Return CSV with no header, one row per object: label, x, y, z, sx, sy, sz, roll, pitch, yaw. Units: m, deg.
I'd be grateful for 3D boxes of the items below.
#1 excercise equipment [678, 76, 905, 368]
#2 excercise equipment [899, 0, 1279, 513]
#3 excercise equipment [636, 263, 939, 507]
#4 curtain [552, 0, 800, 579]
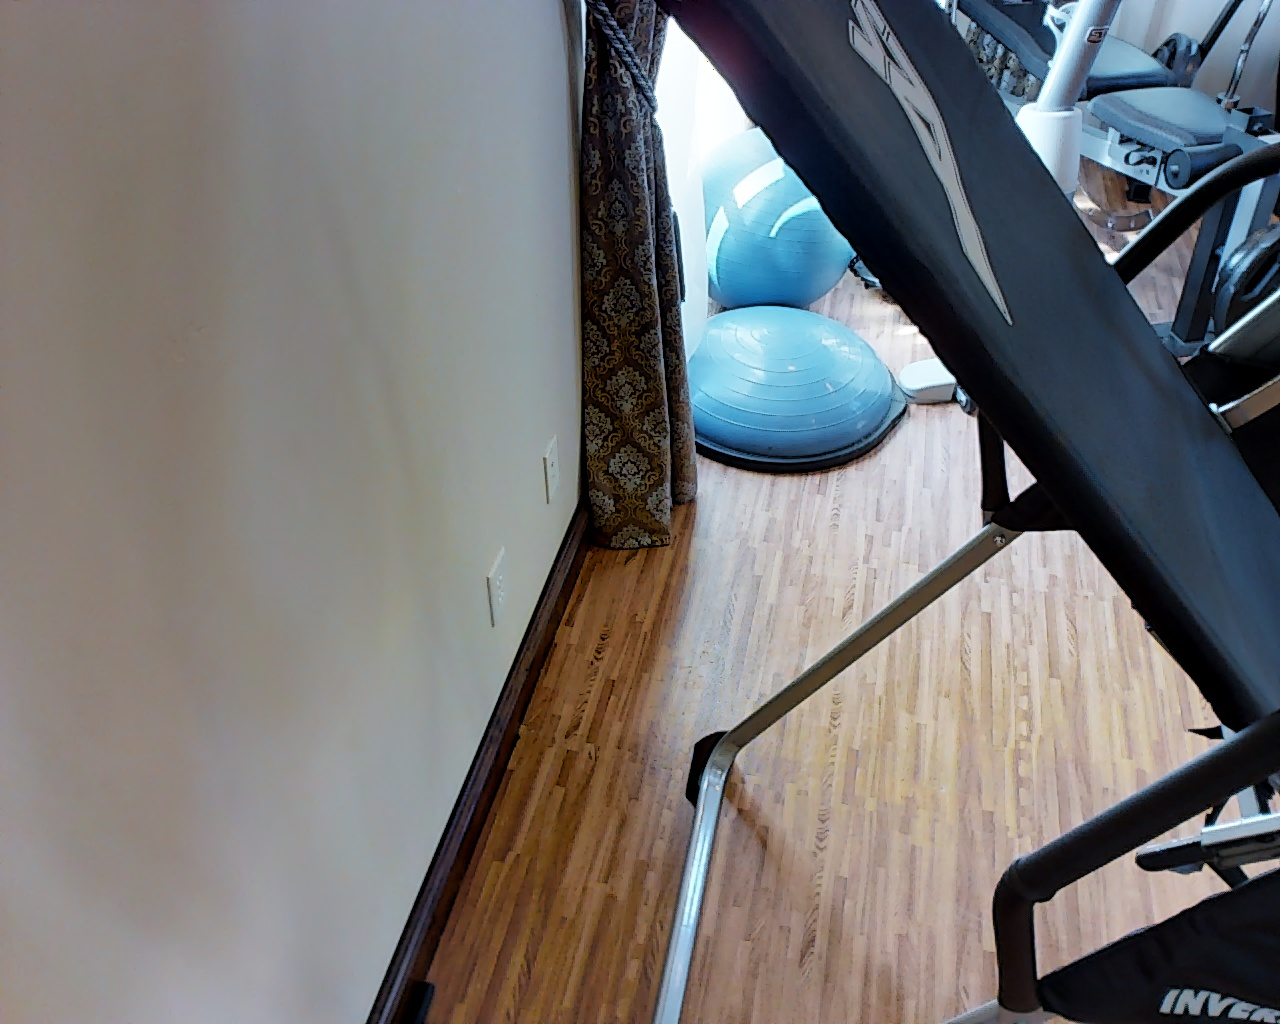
excercise equipment,0.410,-0.800,2.920,0.520,0.530,0.580,7,42,7
excercise equipment,1.450,-1.000,3.070,0.590,0.630,2.260,-6,42,-7
excercise equipment,0.380,-0.340,2.660,0.650,0.210,0.620,9,42,10
curtain,0.110,-1.110,1.790,0.270,2.510,0.900,9,42,10
